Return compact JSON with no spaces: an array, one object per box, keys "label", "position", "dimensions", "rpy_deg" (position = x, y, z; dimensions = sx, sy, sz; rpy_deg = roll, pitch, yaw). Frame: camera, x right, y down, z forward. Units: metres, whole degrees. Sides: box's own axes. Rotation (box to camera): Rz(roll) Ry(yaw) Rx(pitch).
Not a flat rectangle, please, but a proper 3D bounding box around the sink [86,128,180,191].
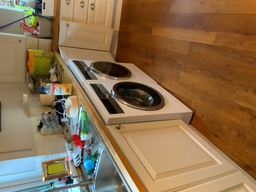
[{"label":"sink","position":[-0.020,0.600,1.380],"dimensions":[0.530,0.270,0.540],"rpy_deg":[45,128,49]}]
